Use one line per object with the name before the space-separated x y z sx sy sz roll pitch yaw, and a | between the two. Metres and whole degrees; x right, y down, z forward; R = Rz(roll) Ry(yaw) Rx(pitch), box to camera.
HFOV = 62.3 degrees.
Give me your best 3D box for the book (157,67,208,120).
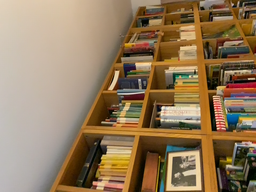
book | 0.440 -0.020 1.740 0.300 0.360 0.300 -75 -20 -45
